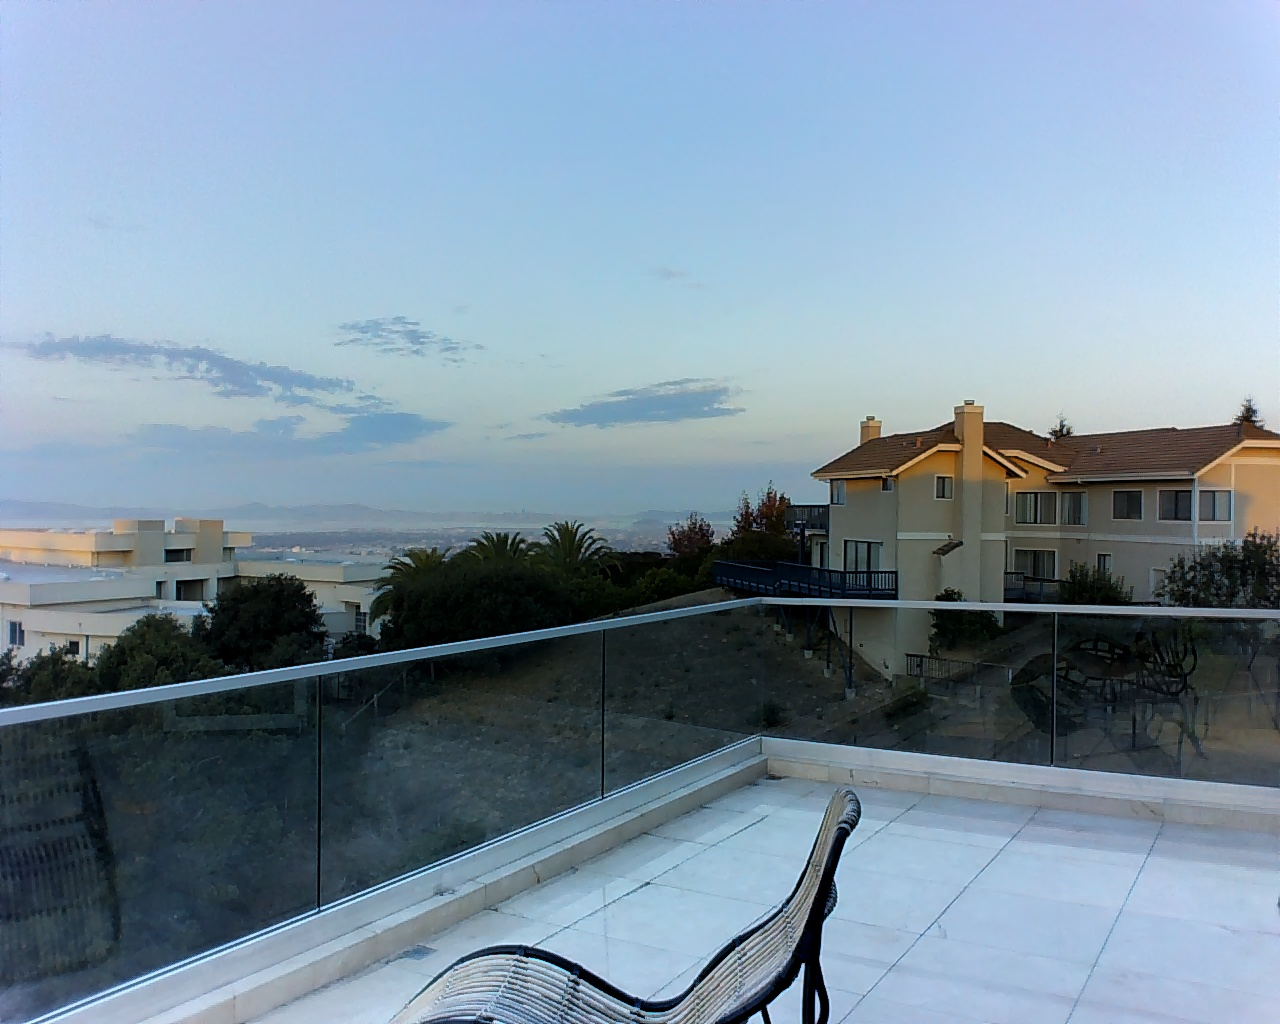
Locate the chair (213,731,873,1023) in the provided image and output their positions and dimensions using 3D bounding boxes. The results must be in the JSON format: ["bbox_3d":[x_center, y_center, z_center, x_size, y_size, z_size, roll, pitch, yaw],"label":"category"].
[{"bbox_3d":[-0.180,1.160,2.850,1.520,0.920,0.910,0,0,10],"label":"chair"}]
